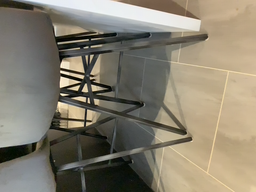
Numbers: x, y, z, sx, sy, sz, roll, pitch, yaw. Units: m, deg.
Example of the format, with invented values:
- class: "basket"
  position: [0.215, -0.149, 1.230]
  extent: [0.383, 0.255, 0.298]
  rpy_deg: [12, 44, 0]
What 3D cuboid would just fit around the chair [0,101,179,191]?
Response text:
- class: "chair"
  position: [-0.290, 0.320, 1.130]
  extent: [0.540, 0.920, 0.430]
  rpy_deg: [26, 114, 57]
